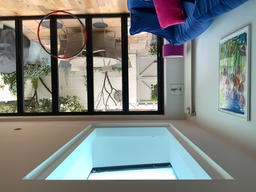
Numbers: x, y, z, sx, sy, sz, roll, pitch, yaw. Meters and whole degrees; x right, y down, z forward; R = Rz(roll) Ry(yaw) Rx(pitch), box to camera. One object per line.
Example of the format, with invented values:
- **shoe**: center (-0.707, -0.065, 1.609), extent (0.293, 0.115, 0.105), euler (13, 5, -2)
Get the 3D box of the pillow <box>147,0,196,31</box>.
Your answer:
- **pillow**: center (0.530, -1.040, 2.590), extent (0.430, 0.330, 0.400), euler (1, -178, 43)
